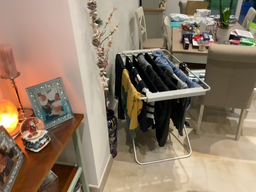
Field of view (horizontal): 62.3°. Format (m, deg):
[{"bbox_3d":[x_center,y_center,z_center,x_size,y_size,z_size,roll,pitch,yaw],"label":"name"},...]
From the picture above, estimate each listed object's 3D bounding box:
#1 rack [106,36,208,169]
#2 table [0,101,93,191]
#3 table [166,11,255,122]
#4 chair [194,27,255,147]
[{"bbox_3d":[0.160,-0.040,2.080,0.610,0.750,1.140,-6,32,-7],"label":"rack"},{"bbox_3d":[-0.560,0.580,1.130,0.390,0.760,0.790,6,32,12],"label":"table"},{"bbox_3d":[1.050,-0.550,2.850,0.920,0.790,1.760,5,32,10],"label":"table"},{"bbox_3d":[0.910,-0.090,1.970,0.450,0.930,0.530,7,32,13],"label":"chair"}]
